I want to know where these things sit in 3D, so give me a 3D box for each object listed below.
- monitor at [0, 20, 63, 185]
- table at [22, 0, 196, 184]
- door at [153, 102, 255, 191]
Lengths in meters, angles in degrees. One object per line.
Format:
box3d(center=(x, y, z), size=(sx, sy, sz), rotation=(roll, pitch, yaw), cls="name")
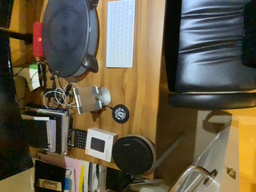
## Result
box3d(center=(-0.530, 0.010, 0.870), size=(0.050, 0.530, 0.660), rotation=(-10, 89, 27), cls="monitor")
box3d(center=(-0.070, -0.330, 1.320), size=(0.790, 0.730, 1.290), rotation=(5, 96, 26), cls="table")
box3d(center=(0.040, 0.460, 0.660), size=(0.050, 2.020, 0.880), rotation=(41, 110, 18), cls="door")
